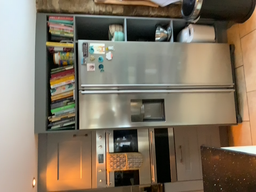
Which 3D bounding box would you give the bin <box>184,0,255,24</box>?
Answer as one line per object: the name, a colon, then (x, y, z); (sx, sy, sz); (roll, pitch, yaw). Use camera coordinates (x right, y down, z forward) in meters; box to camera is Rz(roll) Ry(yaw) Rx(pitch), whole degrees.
bin: (0.960, -0.960, 2.210); (0.340, 0.630, 0.270); (160, 109, -80)
